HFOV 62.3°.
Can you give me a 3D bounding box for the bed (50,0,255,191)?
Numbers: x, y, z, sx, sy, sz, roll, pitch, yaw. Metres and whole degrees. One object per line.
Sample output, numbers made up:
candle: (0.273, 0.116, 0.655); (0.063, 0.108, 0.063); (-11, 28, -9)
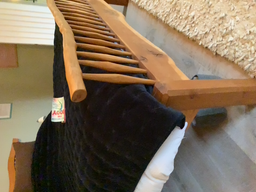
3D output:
bed: (-0.260, 0.330, 2.160); (2.220, 0.810, 2.290); (-122, 37, -47)
